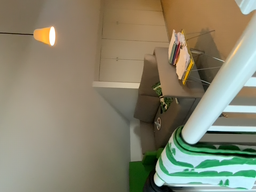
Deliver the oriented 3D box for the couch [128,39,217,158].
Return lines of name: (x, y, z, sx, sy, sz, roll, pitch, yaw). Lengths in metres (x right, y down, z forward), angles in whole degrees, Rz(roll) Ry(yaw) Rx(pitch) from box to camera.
couch: (0.490, 0.180, 3.310, 1.850, 0.780, 0.900, 99, 171, -52)

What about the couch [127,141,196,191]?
couch: (0.440, 1.220, 3.290, 0.870, 0.800, 0.720, 99, 171, -52)
